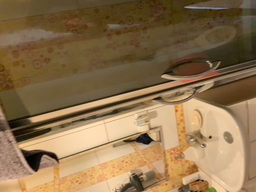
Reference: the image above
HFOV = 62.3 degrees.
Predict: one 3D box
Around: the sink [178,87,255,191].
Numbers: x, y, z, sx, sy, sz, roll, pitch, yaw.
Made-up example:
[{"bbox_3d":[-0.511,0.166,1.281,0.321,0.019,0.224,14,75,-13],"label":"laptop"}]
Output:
[{"bbox_3d":[0.540,0.250,1.280,0.480,0.180,0.500,-147,45,-67],"label":"sink"}]
